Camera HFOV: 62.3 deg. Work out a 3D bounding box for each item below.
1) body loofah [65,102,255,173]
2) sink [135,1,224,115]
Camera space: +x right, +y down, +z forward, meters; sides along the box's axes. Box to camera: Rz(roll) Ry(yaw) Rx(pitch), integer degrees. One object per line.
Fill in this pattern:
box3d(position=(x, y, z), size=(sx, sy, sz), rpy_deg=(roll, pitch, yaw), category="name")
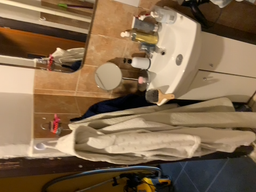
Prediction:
box3d(position=(0.380, 0.220, 1.230), size=(0.190, 1.400, 0.240), rpy_deg=(63, 140, 46), category="body loofah")
box3d(position=(0.250, -0.220, 1.250), size=(0.400, 0.130, 0.520), rpy_deg=(62, 140, 47), category="sink")
